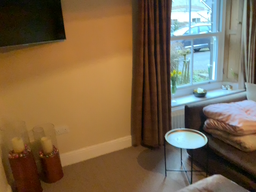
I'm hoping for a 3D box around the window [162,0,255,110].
[{"bbox_3d":[1.170,-0.880,2.990,1.360,1.910,0.360,-10,18,-19],"label":"window"}]
